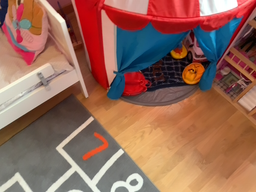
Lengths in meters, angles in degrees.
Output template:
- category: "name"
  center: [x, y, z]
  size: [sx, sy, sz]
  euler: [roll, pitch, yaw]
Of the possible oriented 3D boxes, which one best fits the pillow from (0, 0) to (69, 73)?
- category: "pillow"
  center: [-0.640, -0.490, 1.110]
  size: [0.280, 0.260, 0.680]
  euler: [-35, 69, -19]
